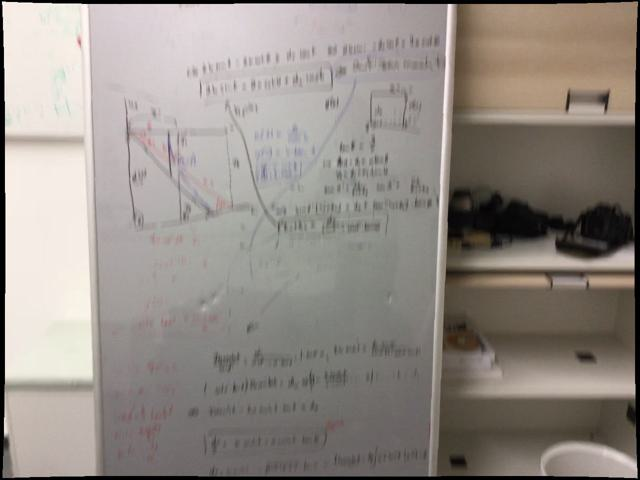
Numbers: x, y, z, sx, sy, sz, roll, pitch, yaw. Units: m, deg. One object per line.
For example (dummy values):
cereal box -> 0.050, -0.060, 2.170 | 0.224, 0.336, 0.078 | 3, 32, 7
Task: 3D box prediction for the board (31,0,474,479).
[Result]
board -> -0.140, 0.060, 1.470 | 0.999, 1.872, 0.210 | -2, 5, 2
